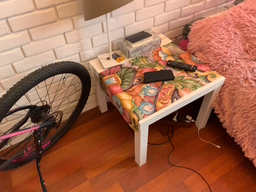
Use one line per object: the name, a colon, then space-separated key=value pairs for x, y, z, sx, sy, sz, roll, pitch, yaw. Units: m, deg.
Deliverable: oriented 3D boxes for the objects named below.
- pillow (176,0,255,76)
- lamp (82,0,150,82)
pillow: x=0.870 y=-0.510 z=1.380 sx=0.950 sy=0.180 sz=0.530 roll=-23 pitch=50 yaw=-18
lamp: x=-0.060 y=-0.360 z=1.070 sx=0.230 sy=0.490 sz=0.240 roll=-24 pitch=51 yaw=-20
